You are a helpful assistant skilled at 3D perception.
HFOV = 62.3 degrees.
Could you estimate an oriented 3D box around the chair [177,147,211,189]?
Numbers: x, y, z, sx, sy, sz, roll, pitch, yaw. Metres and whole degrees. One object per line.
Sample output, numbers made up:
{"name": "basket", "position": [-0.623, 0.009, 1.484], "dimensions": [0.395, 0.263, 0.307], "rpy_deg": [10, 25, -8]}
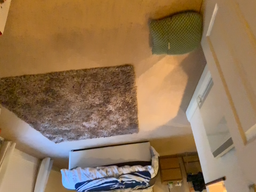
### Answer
{"name": "chair", "position": [1.420, 1.580, 4.640], "dimensions": [0.460, 0.760, 0.480], "rpy_deg": [-6, 153, 0]}
